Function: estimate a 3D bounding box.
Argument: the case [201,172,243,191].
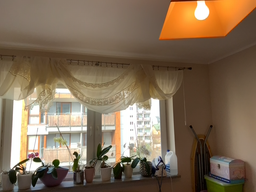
[{"bbox_3d":[1.230,1.180,2.810,0.290,0.220,0.460,1,-8,-14],"label":"case"}]

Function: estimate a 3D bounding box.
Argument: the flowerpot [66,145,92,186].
[{"bbox_3d":[-0.630,0.880,2.740,0.310,0.460,0.250,1,-8,-13],"label":"flowerpot"}]

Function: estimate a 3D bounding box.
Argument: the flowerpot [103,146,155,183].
[{"bbox_3d":[0.000,0.900,2.850,0.650,0.390,0.300,1,-8,-13],"label":"flowerpot"}]

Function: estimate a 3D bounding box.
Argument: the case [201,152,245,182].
[{"bbox_3d":[1.260,0.940,2.860,0.310,0.290,0.450,1,-8,-16],"label":"case"}]
